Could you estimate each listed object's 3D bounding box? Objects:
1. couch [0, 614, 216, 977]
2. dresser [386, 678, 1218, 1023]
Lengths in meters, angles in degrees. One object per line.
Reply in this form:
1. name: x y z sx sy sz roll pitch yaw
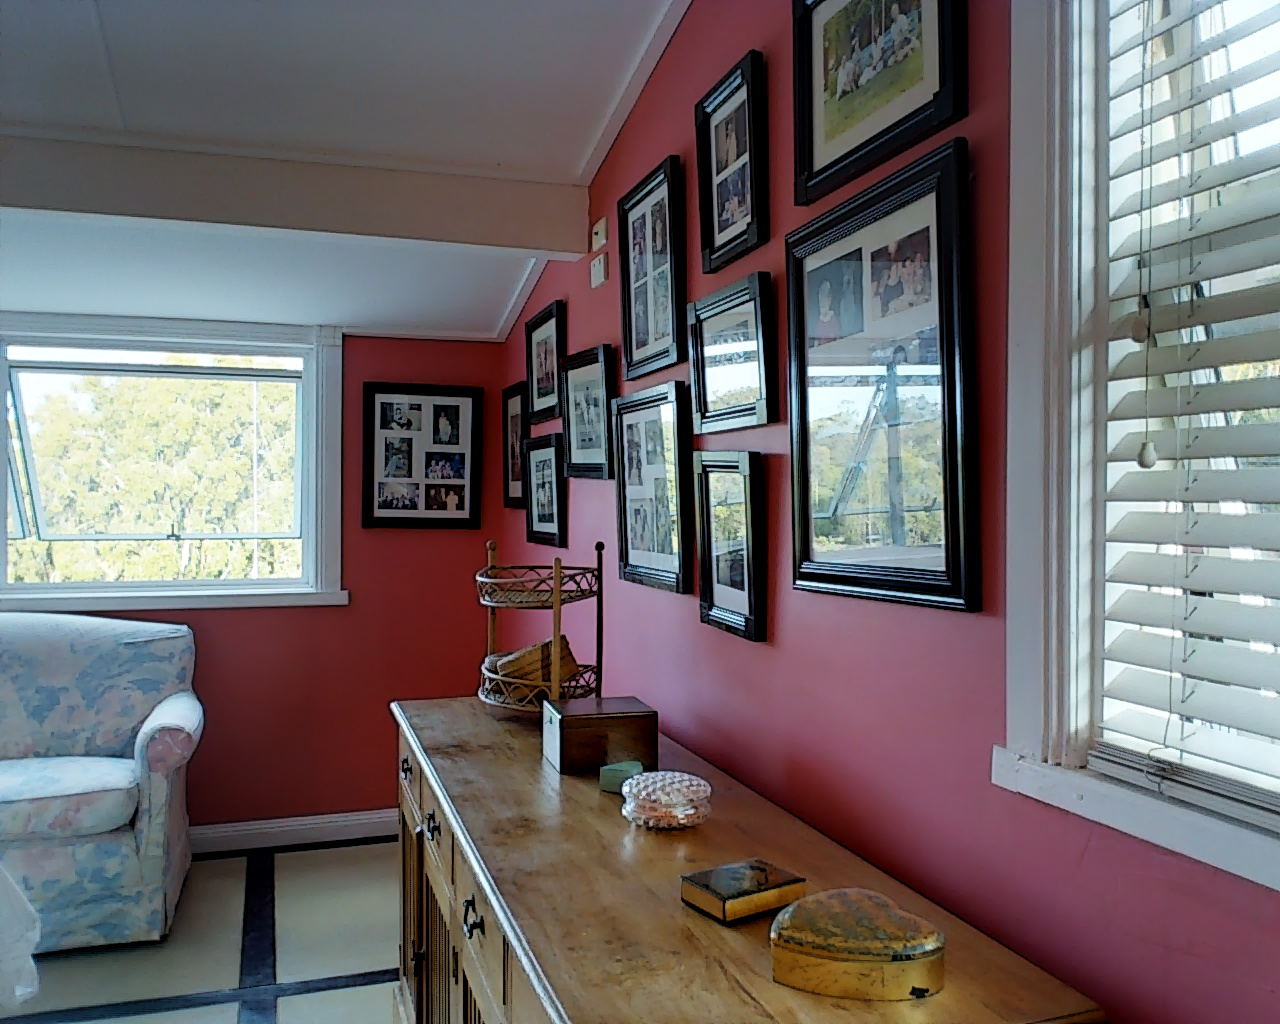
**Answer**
1. couch: -2.099 0.800 3.200 1.510 0.850 0.920 0 1 -18
2. dresser: -0.030 0.850 1.790 0.600 0.820 1.820 0 1 -18
